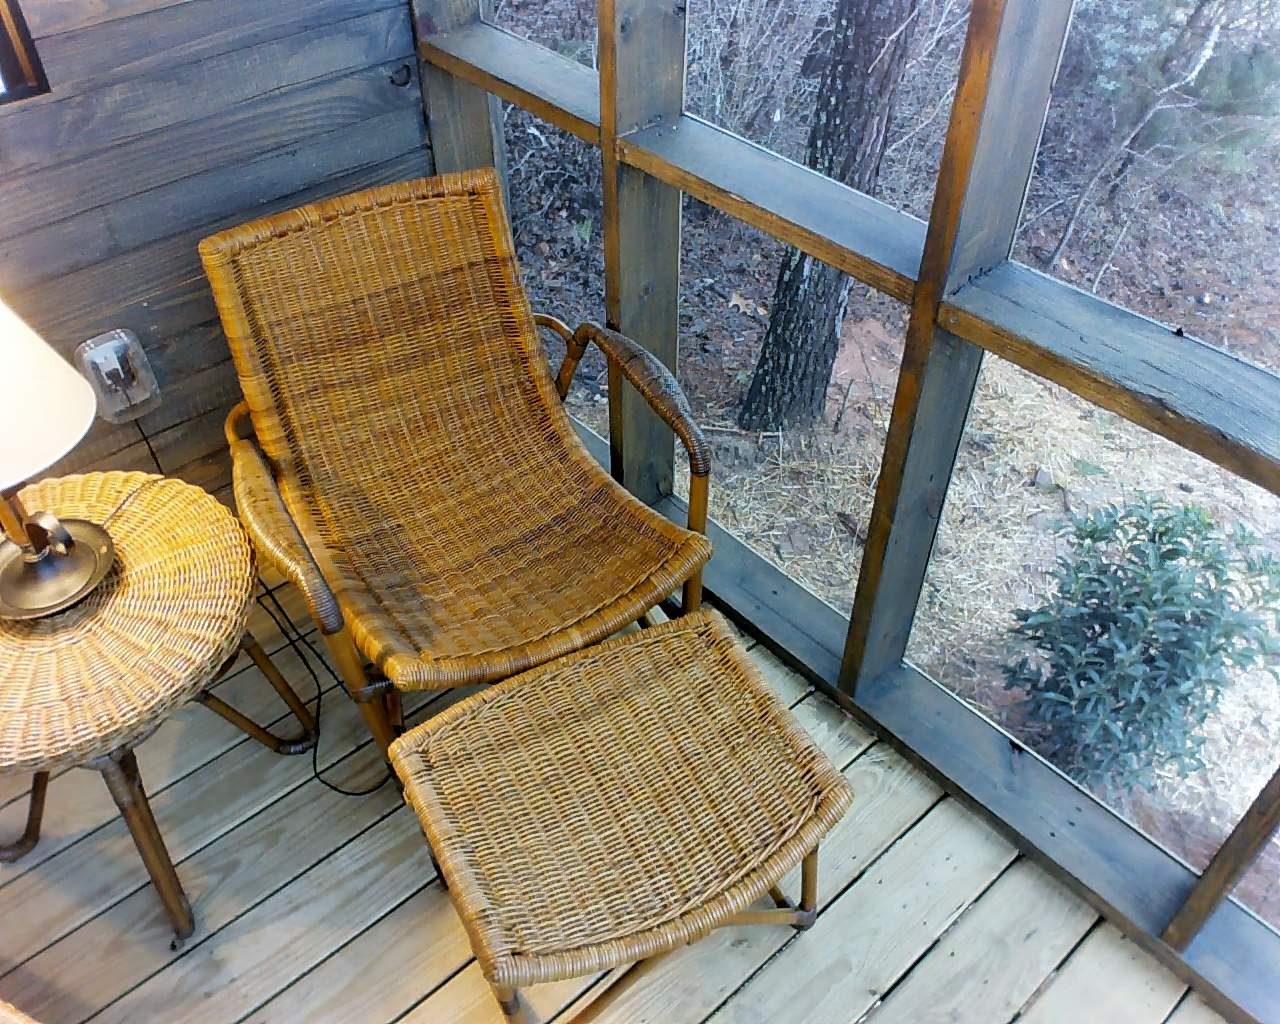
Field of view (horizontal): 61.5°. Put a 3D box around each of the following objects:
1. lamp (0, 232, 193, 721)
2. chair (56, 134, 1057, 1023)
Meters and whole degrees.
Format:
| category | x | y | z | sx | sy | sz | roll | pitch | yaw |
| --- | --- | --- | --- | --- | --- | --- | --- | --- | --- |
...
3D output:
| category | x | y | z | sx | sy | sz | roll | pitch | yaw |
| --- | --- | --- | --- | --- | --- | --- | --- | --- | --- |
| lamp | -0.800 | -0.060 | 1.270 | 0.280 | 0.500 | 0.330 | -29 | 51 | -27 |
| chair | -0.210 | 0.090 | 1.670 | 0.770 | 0.740 | 1.260 | -26 | 49 | -24 |
